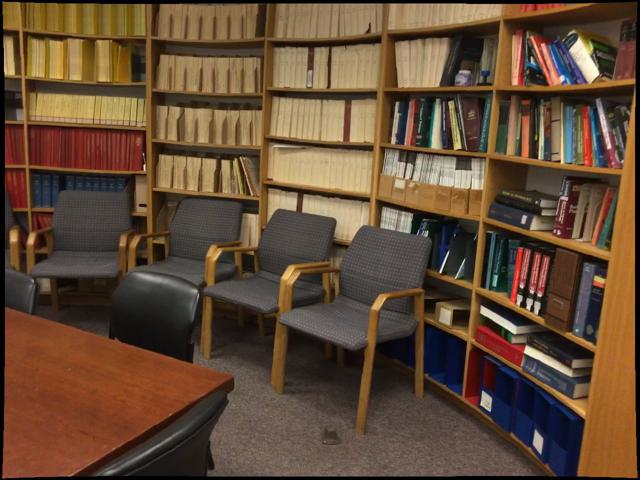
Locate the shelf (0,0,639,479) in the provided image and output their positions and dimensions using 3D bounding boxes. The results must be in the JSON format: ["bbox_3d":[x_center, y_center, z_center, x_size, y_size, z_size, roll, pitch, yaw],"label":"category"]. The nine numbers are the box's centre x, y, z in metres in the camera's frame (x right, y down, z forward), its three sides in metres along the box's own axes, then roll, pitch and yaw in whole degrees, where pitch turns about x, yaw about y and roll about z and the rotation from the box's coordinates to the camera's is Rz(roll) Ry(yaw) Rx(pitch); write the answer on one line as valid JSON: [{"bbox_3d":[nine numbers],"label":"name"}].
[{"bbox_3d":[-0.658,-0.381,3.220,4.939,2.426,1.930,6,13,21],"label":"shelf"}]

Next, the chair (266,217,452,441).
[{"bbox_3d":[0.209,0.401,3.070,0.609,0.872,0.769,13,17,36],"label":"chair"}]

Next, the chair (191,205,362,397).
[{"bbox_3d":[-0.249,0.301,3.520,0.599,0.872,0.869,12,15,31],"label":"chair"}]

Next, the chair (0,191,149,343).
[{"bbox_3d":[-1.596,0.150,3.860,0.698,0.862,0.680,0,13,-5],"label":"chair"}]

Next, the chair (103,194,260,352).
[{"bbox_3d":[-0.878,0.170,3.830,0.688,0.812,0.760,6,13,19],"label":"chair"}]
